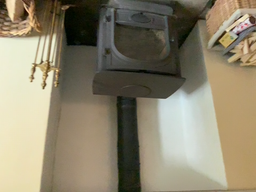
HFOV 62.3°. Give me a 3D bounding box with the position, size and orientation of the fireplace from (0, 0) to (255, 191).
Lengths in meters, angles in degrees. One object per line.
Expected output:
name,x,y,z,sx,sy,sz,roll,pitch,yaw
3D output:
fireplace,0.090,0.040,1.270,1.830,1.480,0.910,2,159,-9
